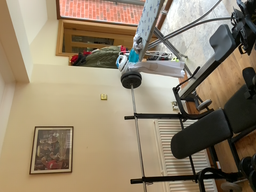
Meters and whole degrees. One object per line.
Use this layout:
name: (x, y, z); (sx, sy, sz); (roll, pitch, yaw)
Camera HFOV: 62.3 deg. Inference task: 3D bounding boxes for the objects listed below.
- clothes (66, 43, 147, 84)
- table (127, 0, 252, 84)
clothes: (-0.380, -0.540, 3.470); (0.620, 1.180, 0.520); (-132, 45, -71)
table: (0.620, -0.760, 2.670); (1.550, 0.940, 0.360); (112, 156, -55)
